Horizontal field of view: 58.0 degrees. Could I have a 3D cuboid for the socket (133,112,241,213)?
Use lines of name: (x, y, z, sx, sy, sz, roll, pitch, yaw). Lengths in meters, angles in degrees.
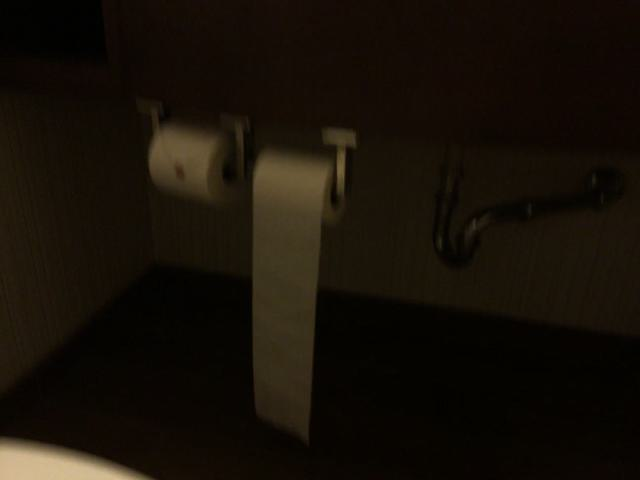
socket: (-0.180, -0.110, 0.800, 0.120, 0.110, 0.080, 8, 23, 11)
